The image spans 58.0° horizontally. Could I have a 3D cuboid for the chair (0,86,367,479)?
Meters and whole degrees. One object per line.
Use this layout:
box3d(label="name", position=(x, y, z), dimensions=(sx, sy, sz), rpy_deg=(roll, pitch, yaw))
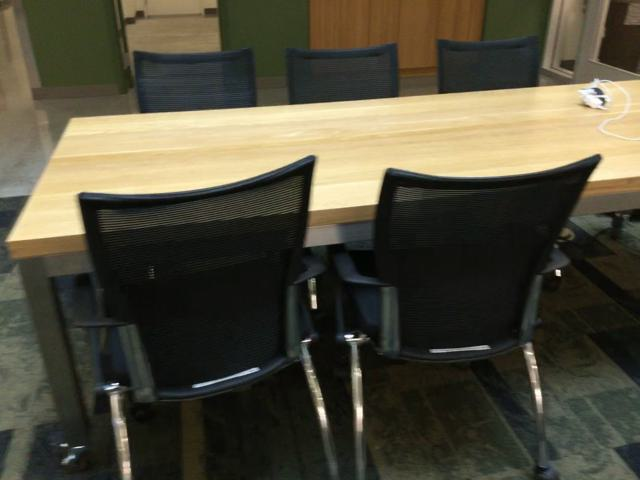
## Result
box3d(label="chair", position=(-0.280, 0.160, 1.460), dimensions=(0.580, 0.900, 0.750), rpy_deg=(-6, 28, -11))

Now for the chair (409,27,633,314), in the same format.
box3d(label="chair", position=(0.720, -0.310, 2.330), dimensions=(0.470, 0.950, 0.670), rpy_deg=(-5, 27, -9))

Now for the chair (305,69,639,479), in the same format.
box3d(label="chair", position=(0.300, 0.080, 1.560), dimensions=(0.550, 0.890, 0.780), rpy_deg=(-5, 27, -8))
